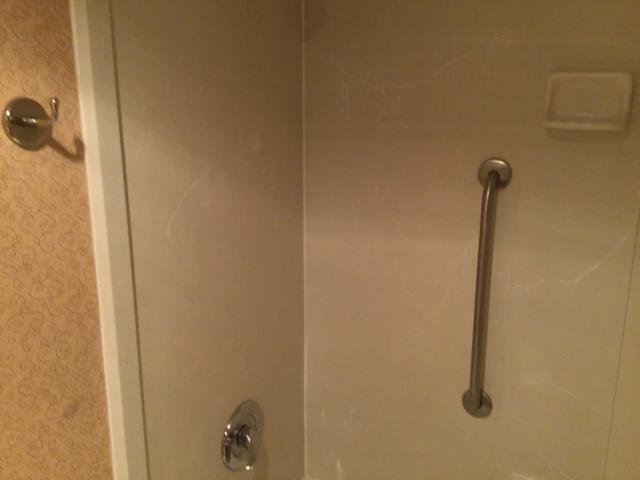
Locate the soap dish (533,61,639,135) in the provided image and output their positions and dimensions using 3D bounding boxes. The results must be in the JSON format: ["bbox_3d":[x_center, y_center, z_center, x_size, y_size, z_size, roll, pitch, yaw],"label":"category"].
[{"bbox_3d":[0.550,-0.290,1.190,0.190,0.140,0.070,7,15,30],"label":"soap dish"}]
